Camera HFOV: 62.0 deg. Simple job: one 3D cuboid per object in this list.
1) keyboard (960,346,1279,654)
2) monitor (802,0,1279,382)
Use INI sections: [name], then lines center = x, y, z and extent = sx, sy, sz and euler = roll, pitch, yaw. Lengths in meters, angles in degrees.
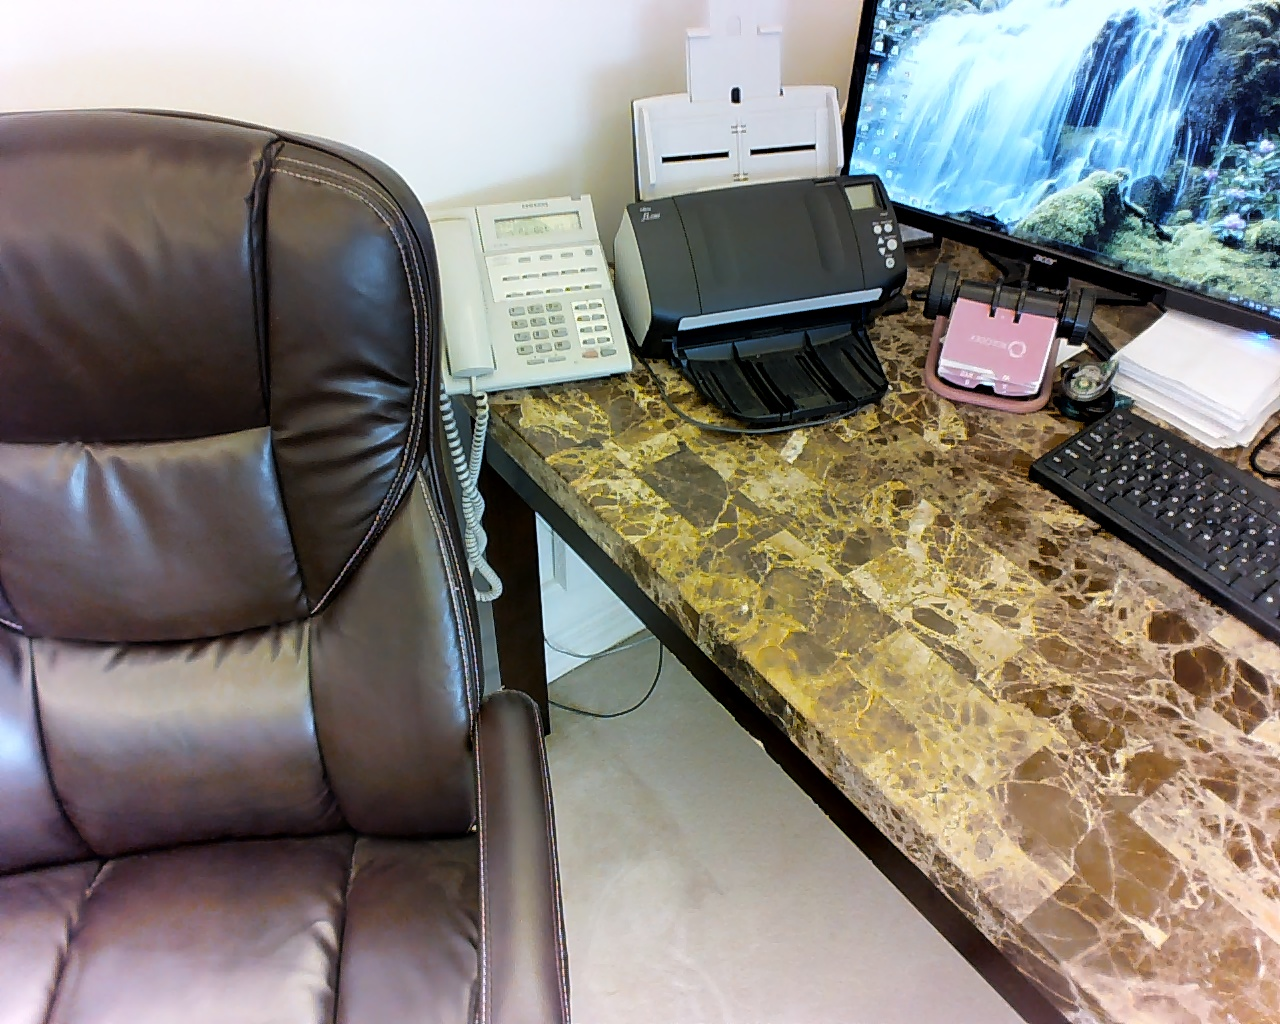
[keyboard]
center = 0.600, 0.020, 1.000
extent = 0.250, 0.030, 0.550
euler = -26, 49, -27
[monitor]
center = 0.470, -0.410, 1.160
extent = 0.590, 0.360, 0.070
euler = 27, 48, 26
